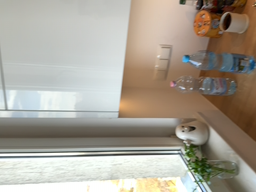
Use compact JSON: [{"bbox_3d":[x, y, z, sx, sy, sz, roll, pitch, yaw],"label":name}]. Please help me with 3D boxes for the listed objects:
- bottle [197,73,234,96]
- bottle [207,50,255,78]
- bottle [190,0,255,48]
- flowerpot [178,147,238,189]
[{"bbox_3d":[0.450,-0.060,1.100,0.080,0.140,0.090,-114,29,-62],"label":"bottle"},{"bbox_3d":[0.480,-0.150,0.990,0.100,0.160,0.090,-113,28,-61],"label":"bottle"},{"bbox_3d":[0.470,-0.390,1.090,0.250,0.150,0.210,-111,26,-59],"label":"bottle"},{"bbox_3d":[0.310,0.280,0.840,0.110,0.170,0.100,-113,28,-61],"label":"flowerpot"}]
